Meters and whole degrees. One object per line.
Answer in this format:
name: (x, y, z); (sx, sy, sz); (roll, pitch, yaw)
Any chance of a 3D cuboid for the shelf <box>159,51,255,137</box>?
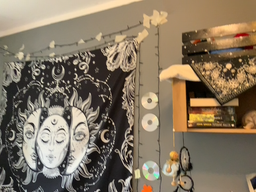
shelf: (0.840, 0.000, 0.930); (1.350, 0.360, 0.360); (-3, -10, 25)
